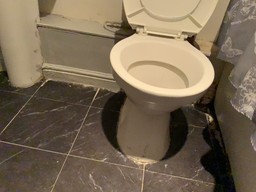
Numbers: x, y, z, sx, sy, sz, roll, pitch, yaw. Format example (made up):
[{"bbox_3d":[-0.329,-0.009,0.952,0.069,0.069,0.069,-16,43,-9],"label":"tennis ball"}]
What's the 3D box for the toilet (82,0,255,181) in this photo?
[{"bbox_3d":[0.140,-0.230,0.840,0.450,0.790,0.680,10,37,1],"label":"toilet"}]
